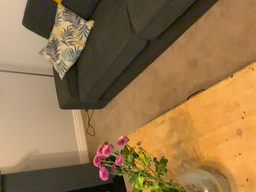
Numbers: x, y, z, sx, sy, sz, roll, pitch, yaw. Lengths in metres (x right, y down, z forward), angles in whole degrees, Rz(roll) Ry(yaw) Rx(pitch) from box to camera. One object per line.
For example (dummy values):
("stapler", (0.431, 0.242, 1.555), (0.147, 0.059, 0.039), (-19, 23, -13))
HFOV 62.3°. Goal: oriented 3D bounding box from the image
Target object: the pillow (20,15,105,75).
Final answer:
("pillow", (-0.590, -0.460, 1.960), (0.630, 0.380, 0.230), (-7, 27, 17))
